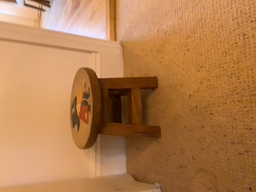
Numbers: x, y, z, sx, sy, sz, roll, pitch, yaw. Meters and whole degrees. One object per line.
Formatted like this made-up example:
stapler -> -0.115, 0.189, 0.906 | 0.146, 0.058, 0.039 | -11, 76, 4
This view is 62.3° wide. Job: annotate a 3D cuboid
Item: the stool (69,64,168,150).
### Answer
stool -> -0.050, 0.050, 0.770 | 0.270, 0.260, 0.240 | -14, 75, 60
